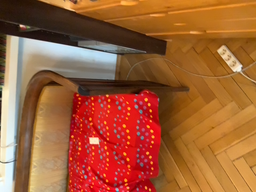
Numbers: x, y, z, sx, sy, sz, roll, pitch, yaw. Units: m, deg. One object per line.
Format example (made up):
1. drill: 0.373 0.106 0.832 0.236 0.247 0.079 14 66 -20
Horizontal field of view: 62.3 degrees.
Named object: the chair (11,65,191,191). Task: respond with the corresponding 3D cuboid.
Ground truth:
1. chair: -0.180 0.460 1.300 0.620 0.780 1.170 14 100 43
